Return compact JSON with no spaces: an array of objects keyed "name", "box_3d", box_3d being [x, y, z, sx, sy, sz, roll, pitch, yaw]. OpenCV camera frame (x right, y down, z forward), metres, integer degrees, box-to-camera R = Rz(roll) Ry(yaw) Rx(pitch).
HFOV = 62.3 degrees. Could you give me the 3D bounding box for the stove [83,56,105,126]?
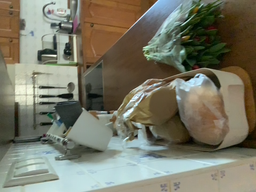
[{"name":"stove","box_3d":[-0.310,-0.010,1.830,0.580,0.010,0.520,166,103,-64]}]
